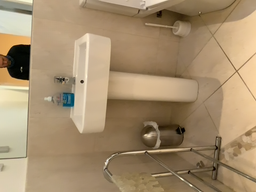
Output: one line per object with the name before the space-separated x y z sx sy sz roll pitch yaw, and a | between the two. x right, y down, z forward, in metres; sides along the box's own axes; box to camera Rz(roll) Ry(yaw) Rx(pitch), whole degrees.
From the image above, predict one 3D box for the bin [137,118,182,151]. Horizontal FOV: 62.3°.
bin | 0.240 0.290 1.650 0.170 0.280 0.210 -166 80 -65
